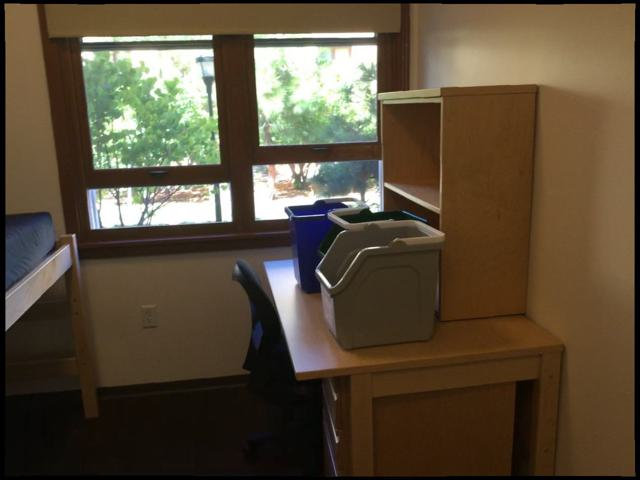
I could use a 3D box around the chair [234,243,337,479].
[{"bbox_3d":[-0.150,0.501,2.440,0.349,0.872,0.430,-4,14,-6],"label":"chair"}]
